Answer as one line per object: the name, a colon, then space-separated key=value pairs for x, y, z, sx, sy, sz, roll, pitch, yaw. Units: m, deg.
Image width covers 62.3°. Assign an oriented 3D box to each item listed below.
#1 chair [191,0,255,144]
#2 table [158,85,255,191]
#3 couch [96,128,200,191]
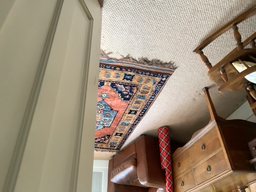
chair: x=0.770 y=-0.150 z=1.310 sx=0.380 sy=0.680 sz=0.470 roll=23 pitch=136 yaw=-30
table: x=0.830 y=0.560 z=2.210 sx=0.570 sy=0.770 sz=1.070 roll=9 pitch=143 yaw=-14
couch: x=0.210 y=1.150 z=2.850 sx=0.910 sy=0.900 sz=1.030 roll=18 pitch=139 yaw=-26
